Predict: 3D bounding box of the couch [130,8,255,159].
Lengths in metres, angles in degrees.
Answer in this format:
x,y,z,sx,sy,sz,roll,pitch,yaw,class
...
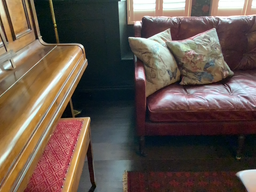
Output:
x,y,z,sx,sy,sz,roll,pitch,yaw,class
1.130,-0.180,1.690,2.210,0.870,0.930,-1,29,1,couch
